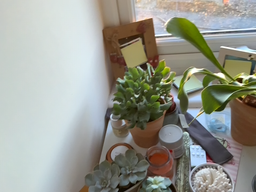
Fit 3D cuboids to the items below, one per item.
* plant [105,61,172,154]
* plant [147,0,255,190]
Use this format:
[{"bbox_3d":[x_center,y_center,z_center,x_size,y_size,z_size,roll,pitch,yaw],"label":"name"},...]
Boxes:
[{"bbox_3d":[0.040,0.030,0.560,0.140,0.170,0.170,-1,41,10],"label":"plant"},{"bbox_3d":[0.300,-0.020,0.500,0.450,0.420,0.290,2,42,13],"label":"plant"}]
